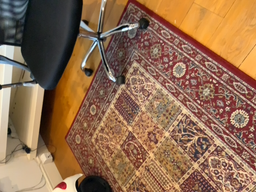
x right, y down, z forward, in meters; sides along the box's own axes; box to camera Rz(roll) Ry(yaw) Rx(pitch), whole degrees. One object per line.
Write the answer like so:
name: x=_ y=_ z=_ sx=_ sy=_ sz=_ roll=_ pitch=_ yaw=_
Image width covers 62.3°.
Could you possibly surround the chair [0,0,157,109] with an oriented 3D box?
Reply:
chair: x=-0.570 y=-0.410 z=1.130 sx=0.700 sy=1.140 sz=0.650 roll=45 pitch=120 yaw=33
